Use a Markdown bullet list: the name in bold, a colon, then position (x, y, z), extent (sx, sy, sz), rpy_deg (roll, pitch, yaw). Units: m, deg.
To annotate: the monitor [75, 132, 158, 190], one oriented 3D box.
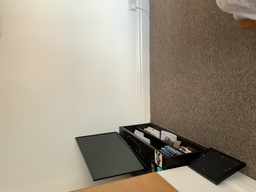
- **monitor**: position (-0.150, 0.490, 1.800), extent (0.810, 0.450, 0.040), rpy_deg (-155, 64, -64)
